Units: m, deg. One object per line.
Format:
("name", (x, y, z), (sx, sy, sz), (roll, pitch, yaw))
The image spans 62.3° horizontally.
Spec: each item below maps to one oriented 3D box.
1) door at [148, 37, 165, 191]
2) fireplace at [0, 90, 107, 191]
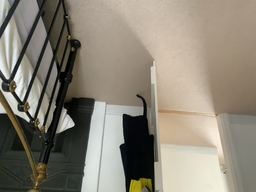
("door", (0.190, 0.590, 1.540), (0.060, 1.790, 1.000), (-1, 149, 5))
("fireplace", (-0.900, 0.510, 2.150), (1.280, 1.000, 0.460), (4, 149, -3))
